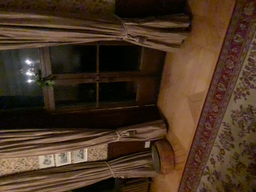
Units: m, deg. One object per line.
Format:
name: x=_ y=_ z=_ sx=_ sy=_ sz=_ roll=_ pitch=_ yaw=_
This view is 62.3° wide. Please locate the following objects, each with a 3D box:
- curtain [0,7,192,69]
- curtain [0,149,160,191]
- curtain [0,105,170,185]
curtain: x=-0.900 y=-0.670 z=2.450 sx=0.460 sy=3.360 sz=0.560 roll=-122 pitch=33 yaw=-57
curtain: x=-1.070 y=1.470 z=3.570 sx=0.370 sy=3.290 sz=0.550 roll=-125 pitch=35 yaw=-59
curtain: x=-0.920 y=0.700 z=3.140 sx=0.380 sy=3.130 sz=0.770 roll=-127 pitch=36 yaw=-59
